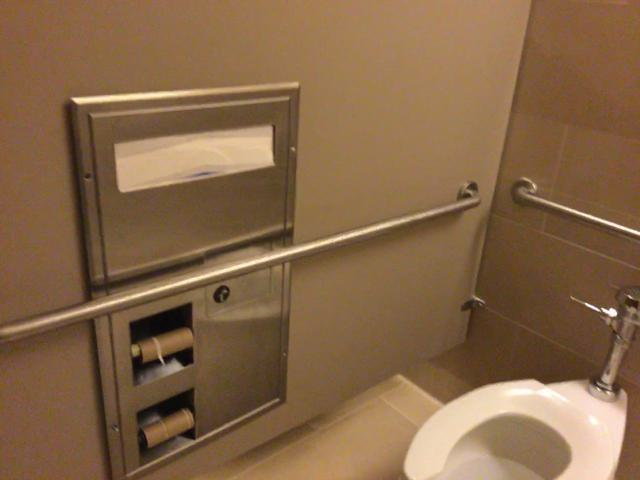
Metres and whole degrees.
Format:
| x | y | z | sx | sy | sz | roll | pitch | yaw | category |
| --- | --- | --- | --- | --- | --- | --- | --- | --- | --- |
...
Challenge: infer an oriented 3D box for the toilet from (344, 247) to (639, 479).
| x | y | z | sx | sy | sz | roll | pitch | yaw | category |
| --- | --- | --- | --- | --- | --- | --- | --- | --- | --- |
| 0.460 | 0.500 | 1.310 | 0.740 | 0.730 | 0.390 | -16 | 29 | -36 | toilet |

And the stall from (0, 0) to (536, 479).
| x | y | z | sx | sy | sz | roll | pitch | yaw | category |
| --- | --- | --- | --- | --- | --- | --- | --- | --- | --- |
| -0.320 | 0.150 | 1.190 | 1.960 | 1.400 | 0.260 | -16 | 29 | -36 | stall |
